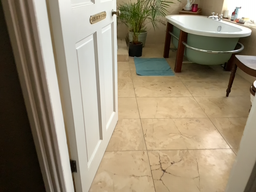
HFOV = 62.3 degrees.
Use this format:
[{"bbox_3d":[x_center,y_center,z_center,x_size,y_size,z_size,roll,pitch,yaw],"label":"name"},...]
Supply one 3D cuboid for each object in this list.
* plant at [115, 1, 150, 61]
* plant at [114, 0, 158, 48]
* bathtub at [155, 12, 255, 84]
[{"bbox_3d":[0.040,-1.050,3.370,0.480,0.810,0.690,0,27,-2],"label":"plant"},{"bbox_3d":[0.120,-1.380,3.880,0.720,0.850,0.560,0,28,-2],"label":"plant"},{"bbox_3d":[0.980,-0.810,3.120,0.800,0.610,1.680,-1,28,-5],"label":"bathtub"}]
